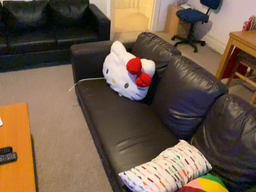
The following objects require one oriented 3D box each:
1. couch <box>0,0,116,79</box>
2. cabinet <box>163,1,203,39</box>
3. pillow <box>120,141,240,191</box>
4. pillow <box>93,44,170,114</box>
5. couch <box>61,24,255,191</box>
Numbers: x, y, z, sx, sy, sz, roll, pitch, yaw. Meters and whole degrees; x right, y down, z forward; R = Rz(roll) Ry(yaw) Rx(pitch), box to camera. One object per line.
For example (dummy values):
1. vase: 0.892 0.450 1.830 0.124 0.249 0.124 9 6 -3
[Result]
1. couch: -1.270 -0.850 2.750 1.980 0.720 1.020 -11 40 -20
2. cabinet: 0.970 -1.390 3.840 0.430 0.510 0.440 -11 41 -20
3. pillow: 0.260 0.500 1.070 0.470 0.120 0.380 -28 49 -36
4. pillow: 0.000 -0.150 1.680 0.570 0.400 0.140 24 10 40
5. couch: 0.140 0.200 1.490 0.880 0.790 1.700 -10 40 -19
